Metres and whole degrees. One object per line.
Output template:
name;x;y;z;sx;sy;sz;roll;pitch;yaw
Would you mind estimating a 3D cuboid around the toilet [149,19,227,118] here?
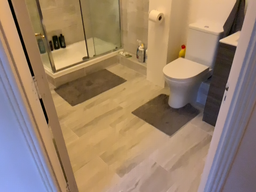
toilet;0.580;-0.290;2.160;0.600;0.770;0.380;-27;43;-33
